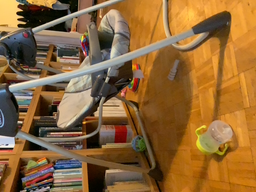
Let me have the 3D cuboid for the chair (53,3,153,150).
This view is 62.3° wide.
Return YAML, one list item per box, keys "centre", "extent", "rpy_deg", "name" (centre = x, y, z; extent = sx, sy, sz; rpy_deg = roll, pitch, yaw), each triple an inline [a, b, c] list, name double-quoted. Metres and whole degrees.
- centre: [-0.180, -0.100, 1.120]
  extent: [0.460, 0.370, 0.590]
  rpy_deg: [-109, 26, -53]
  name: "chair"
